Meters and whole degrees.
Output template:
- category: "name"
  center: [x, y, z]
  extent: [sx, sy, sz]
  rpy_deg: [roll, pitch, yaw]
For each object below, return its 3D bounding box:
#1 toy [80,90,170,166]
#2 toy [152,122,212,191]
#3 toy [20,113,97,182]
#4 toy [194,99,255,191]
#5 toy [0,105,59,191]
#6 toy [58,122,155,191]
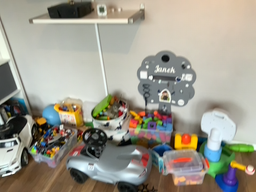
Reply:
- category: "toy"
  center: [0.000, 0.270, 1.970]
  extent: [0.700, 0.460, 0.400]
  rpy_deg: [6, 32, 16]
- category: "toy"
  center: [0.450, 0.480, 1.740]
  extent: [0.380, 0.250, 0.450]
  rpy_deg: [10, 33, 22]
- category: "toy"
  center: [-0.620, 0.450, 1.990]
  extent: [0.420, 0.280, 0.500]
  rpy_deg: [9, 33, 21]
- category: "toy"
  center: [0.780, 0.370, 1.660]
  extent: [0.400, 0.470, 0.470]
  rpy_deg: [9, 33, 22]
- category: "toy"
  center: [-1.100, 0.440, 2.020]
  extent: [0.440, 0.310, 0.710]
  rpy_deg: [9, 33, 22]
- category: "toy"
  center: [-0.150, 0.510, 1.750]
  extent: [0.660, 0.310, 0.390]
  rpy_deg: [9, 33, 21]
